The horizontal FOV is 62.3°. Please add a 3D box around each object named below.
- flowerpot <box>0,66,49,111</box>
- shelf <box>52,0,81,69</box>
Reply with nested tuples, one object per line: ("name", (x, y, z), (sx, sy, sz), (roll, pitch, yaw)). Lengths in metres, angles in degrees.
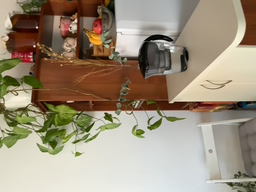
("flowerpot", (-0.790, -0.040, 1.520), (0.350, 0.340, 0.220), (113, 156, -72))
("shelf", (-0.480, -0.480, 1.700), (0.290, 0.160, 0.450), (115, 154, -73))
